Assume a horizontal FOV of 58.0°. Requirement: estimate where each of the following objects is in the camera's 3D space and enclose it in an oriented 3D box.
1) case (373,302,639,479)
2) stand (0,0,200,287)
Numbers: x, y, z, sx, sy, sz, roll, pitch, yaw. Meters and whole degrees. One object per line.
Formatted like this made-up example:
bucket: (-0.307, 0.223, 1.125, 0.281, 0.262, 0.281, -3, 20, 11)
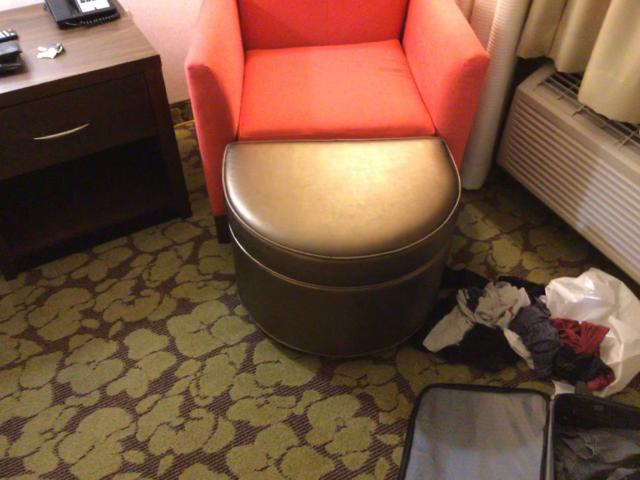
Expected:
case: (0.510, 0.540, 1.260, 0.750, 0.170, 0.690, 13, 47, 13)
stand: (-0.840, -0.440, 1.700, 0.670, 0.840, 0.570, -23, 50, -21)
